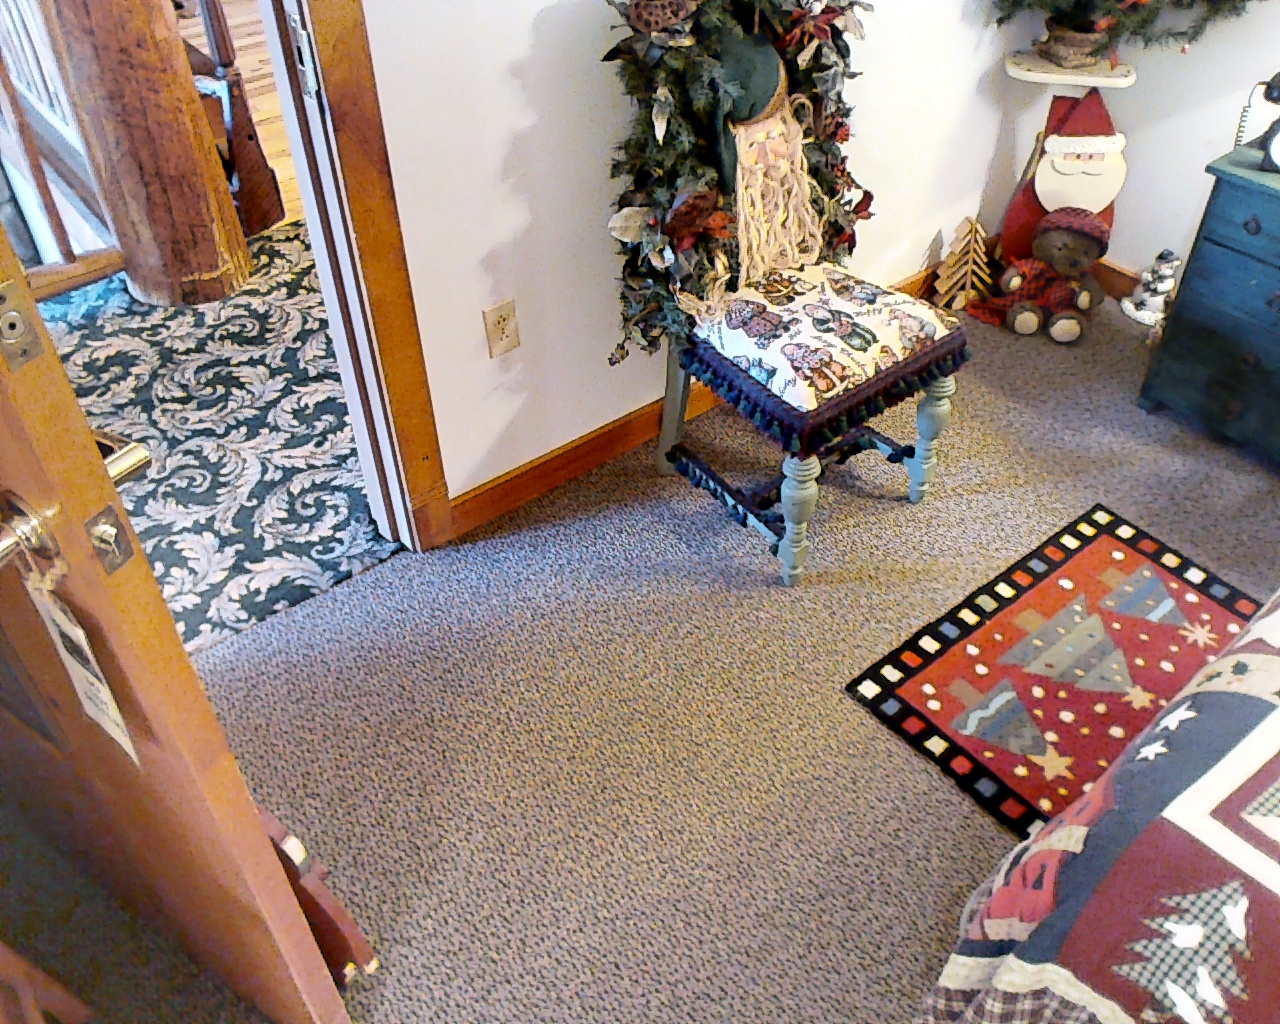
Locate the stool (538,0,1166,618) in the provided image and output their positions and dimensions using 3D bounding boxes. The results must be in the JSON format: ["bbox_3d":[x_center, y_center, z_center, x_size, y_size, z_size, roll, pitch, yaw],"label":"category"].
[{"bbox_3d":[0.330,-0.540,1.970,0.760,1.110,0.640,-27,49,-26],"label":"stool"}]
